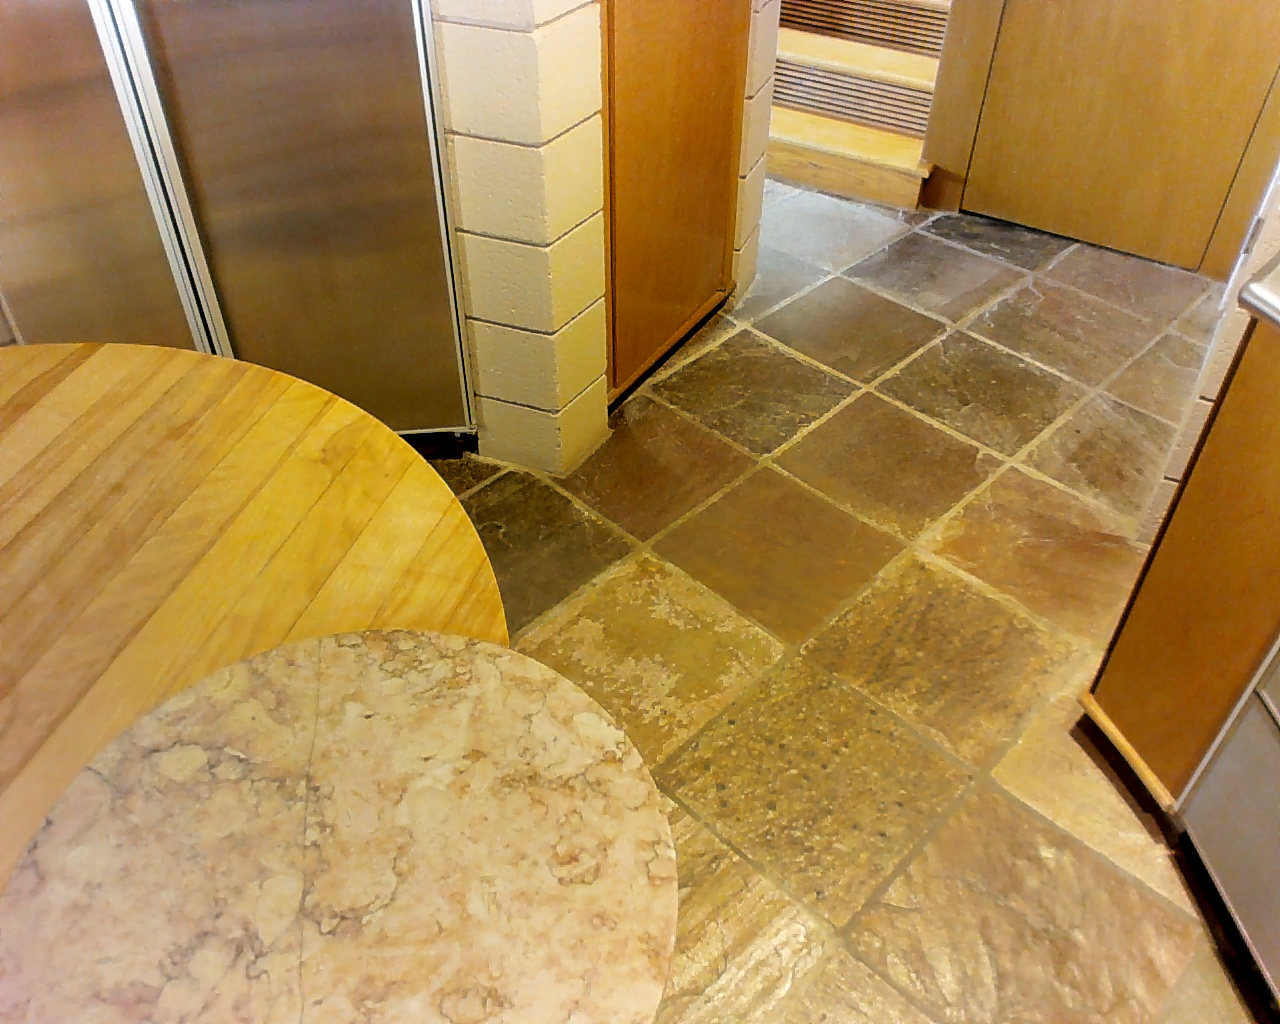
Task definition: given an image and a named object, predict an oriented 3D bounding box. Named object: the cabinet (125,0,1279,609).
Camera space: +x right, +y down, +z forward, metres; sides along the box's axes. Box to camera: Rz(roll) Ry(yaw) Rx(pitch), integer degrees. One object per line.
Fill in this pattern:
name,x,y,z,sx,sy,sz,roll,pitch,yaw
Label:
cabinet,0.950,-1.850,3.650,2.020,1.000,4.610,25,48,24
